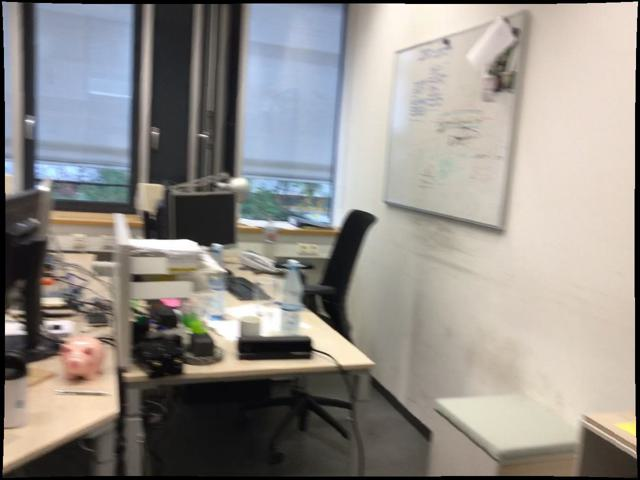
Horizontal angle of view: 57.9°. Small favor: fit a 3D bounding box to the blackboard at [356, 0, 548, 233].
[{"bbox_3d":[0.559,-0.631,2.940,0.140,0.971,1.390,1,10,-20],"label":"blackboard"}]
